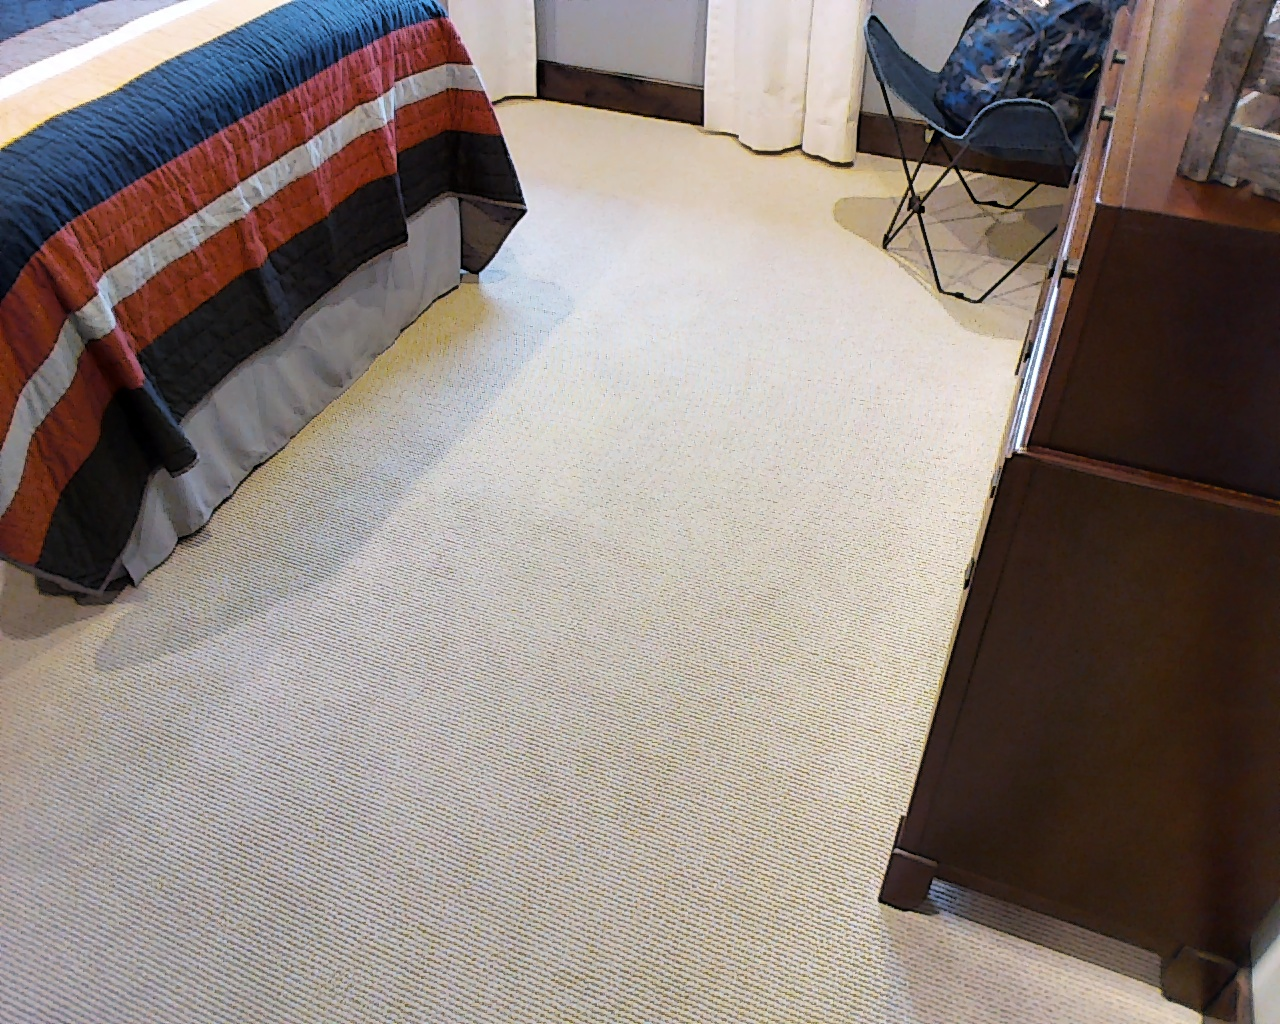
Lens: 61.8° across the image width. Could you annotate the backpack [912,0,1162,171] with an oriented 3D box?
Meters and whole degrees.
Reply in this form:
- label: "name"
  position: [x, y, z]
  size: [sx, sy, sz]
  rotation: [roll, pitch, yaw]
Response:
- label: "backpack"
  position: [0.950, -1.090, 2.580]
  size: [0.310, 0.430, 0.390]
  rotation: [7, 10, -26]
